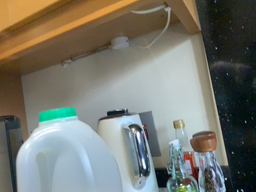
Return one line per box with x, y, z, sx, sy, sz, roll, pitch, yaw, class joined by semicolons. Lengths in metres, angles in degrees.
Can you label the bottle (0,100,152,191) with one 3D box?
-0.050;0.150;0.260;0.100;0.270;0.180;-12;-4;27;bottle
